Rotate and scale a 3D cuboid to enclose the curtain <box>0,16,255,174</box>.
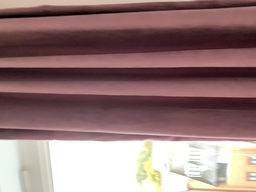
[{"bbox_3d":[0.300,-0.010,0.560,0.180,1.820,0.370,-74,-16,-71],"label":"curtain"}]
